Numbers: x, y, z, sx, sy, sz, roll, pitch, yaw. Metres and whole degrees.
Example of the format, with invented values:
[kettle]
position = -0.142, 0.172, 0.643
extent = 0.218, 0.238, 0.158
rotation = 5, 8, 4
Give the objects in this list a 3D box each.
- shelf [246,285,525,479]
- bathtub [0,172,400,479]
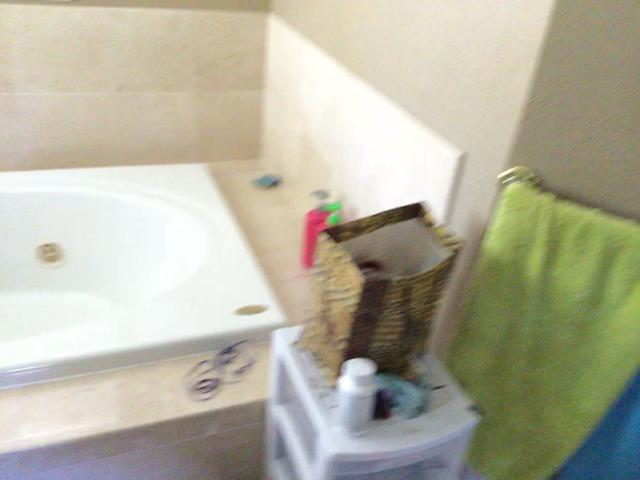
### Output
[shelf]
position = 0.090, 0.540, 1.340
extent = 0.390, 0.710, 0.410
rotation = -7, 31, -25
[bathtub]
position = -0.920, 0.290, 1.700
extent = 1.890, 0.480, 1.210
rotation = -5, 30, -22
